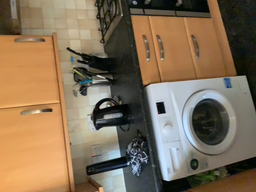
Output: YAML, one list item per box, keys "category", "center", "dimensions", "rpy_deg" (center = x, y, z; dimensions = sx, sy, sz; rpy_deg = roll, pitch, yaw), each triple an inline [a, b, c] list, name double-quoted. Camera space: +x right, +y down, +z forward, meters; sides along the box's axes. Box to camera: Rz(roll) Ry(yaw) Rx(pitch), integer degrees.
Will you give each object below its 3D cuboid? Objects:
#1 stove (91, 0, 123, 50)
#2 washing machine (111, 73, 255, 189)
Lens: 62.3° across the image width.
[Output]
- category: "stove"
  center: [-0.200, -0.770, 1.740]
  dimensions: [0.560, 0.040, 0.580]
  rpy_deg: [148, 114, -66]
- category: "washing machine"
  center: [0.430, 0.240, 1.700]
  dimensions: [0.670, 0.900, 0.620]
  rpy_deg: [148, 114, -66]
